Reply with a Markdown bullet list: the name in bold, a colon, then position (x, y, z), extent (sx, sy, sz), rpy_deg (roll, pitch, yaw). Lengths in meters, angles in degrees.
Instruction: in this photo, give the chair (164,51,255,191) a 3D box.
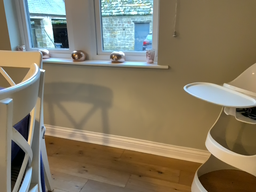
- **chair**: position (0.650, 0.210, 1.230), extent (0.660, 0.840, 0.520), rpy_deg (-12, 21, -30)
